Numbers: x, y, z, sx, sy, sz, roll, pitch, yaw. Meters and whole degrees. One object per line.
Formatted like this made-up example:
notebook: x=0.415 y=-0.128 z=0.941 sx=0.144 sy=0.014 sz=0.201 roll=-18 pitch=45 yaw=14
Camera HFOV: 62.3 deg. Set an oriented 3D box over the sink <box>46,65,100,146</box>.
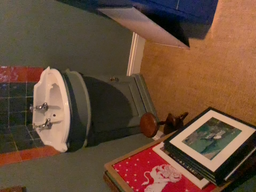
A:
sink: x=-0.400 y=0.040 z=1.470 sx=0.420 sy=0.170 sz=0.420 roll=28 pitch=114 yaw=47
